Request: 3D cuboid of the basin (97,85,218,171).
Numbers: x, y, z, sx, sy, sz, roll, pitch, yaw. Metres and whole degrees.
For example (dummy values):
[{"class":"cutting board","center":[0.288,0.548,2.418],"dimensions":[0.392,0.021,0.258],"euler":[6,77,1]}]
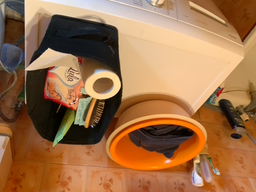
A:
[{"class":"basin","center":[0.080,0.140,0.770],"dimensions":[0.310,0.110,0.320],"euler":[11,135,-17]}]
